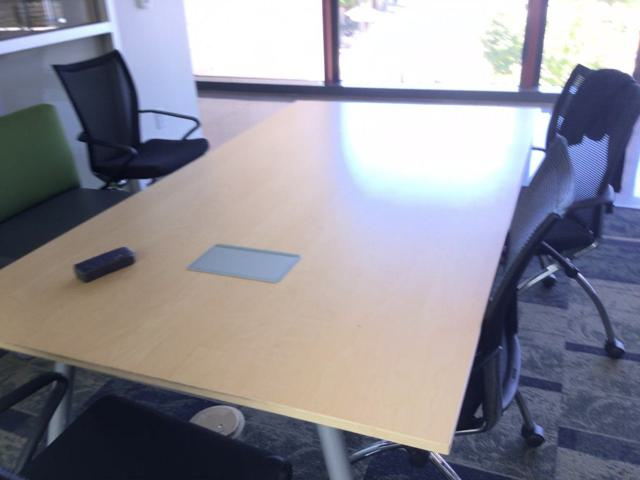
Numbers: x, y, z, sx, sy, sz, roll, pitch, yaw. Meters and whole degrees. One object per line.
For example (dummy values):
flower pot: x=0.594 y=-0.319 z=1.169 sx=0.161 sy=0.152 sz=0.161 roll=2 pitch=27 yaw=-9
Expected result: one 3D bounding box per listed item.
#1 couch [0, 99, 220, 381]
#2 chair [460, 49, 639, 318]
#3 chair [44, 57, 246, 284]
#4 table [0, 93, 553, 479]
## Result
couch: x=-0.960 y=-0.070 z=2.270 sx=0.770 sy=0.810 sz=0.700 roll=8 pitch=26 yaw=25
chair: x=0.810 y=-0.220 z=1.940 sx=0.450 sy=0.730 sz=0.520 roll=-8 pitch=24 yaw=-11
chair: x=-0.790 y=-0.360 z=2.760 sx=0.600 sy=0.930 sz=0.500 roll=9 pitch=26 yaw=25
table: x=0.050 y=-0.040 z=1.840 sx=1.140 sy=0.500 sz=1.960 roll=7 pitch=25 yaw=22
